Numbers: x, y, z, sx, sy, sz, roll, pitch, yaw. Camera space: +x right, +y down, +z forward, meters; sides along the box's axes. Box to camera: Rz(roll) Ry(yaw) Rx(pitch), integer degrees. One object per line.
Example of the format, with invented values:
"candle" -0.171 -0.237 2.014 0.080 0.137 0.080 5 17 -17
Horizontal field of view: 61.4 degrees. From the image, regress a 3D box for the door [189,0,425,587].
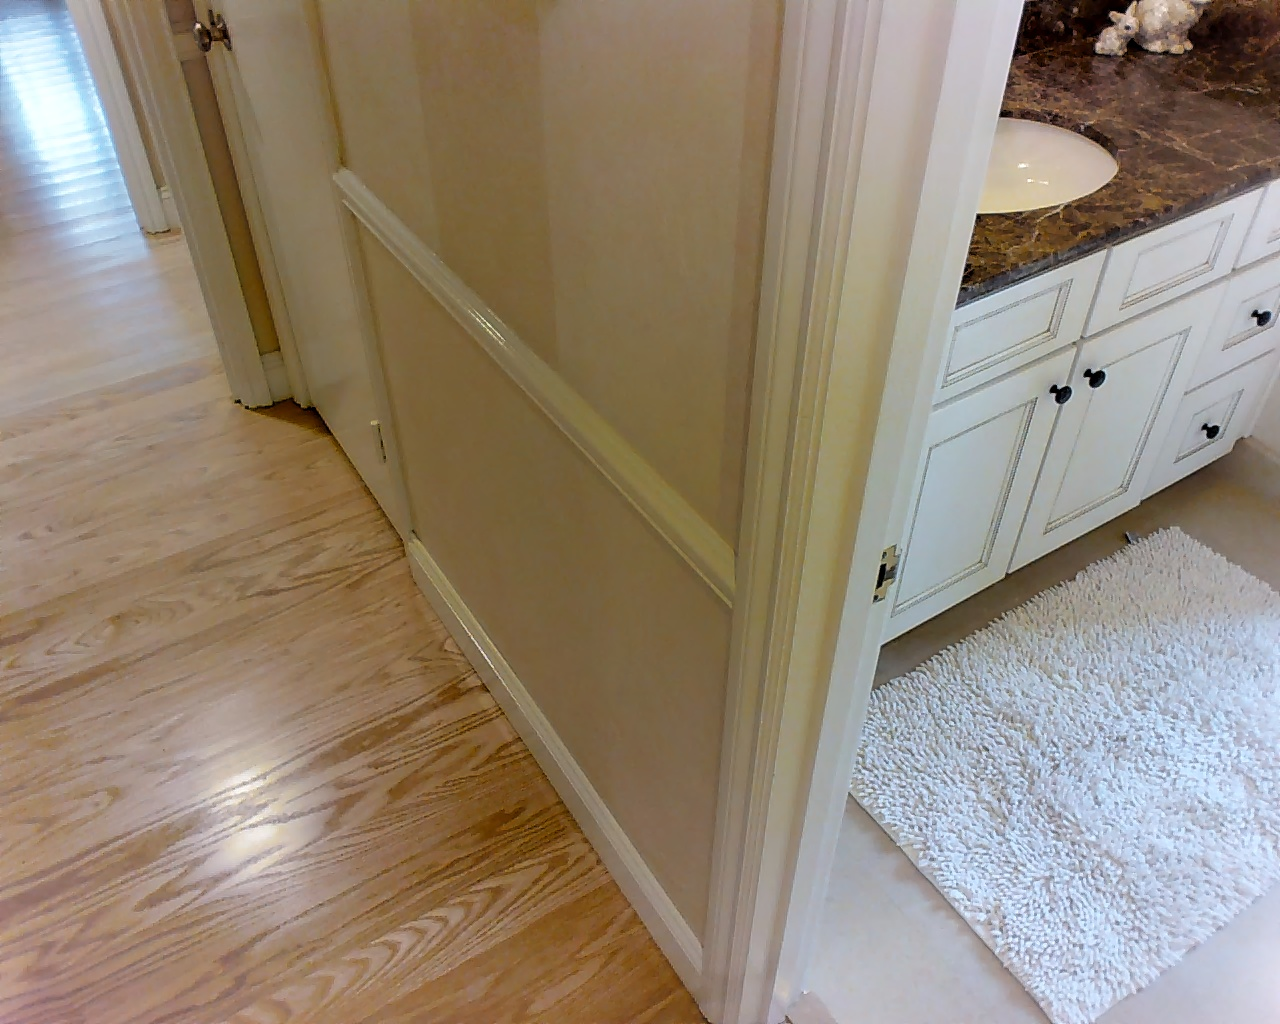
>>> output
"door" -0.660 -0.830 1.800 0.040 2.050 0.750 -22 46 -22
